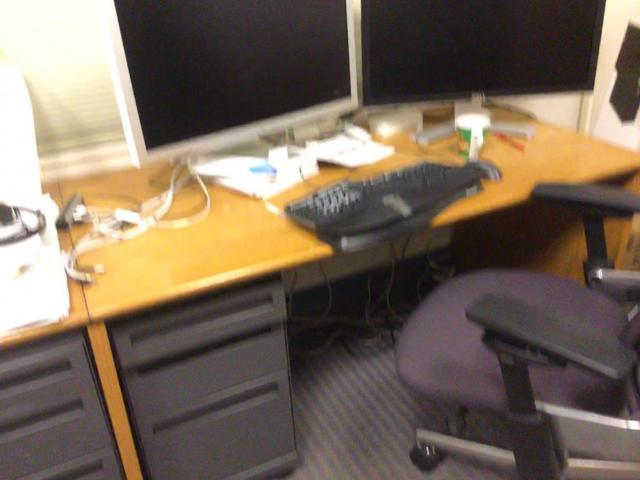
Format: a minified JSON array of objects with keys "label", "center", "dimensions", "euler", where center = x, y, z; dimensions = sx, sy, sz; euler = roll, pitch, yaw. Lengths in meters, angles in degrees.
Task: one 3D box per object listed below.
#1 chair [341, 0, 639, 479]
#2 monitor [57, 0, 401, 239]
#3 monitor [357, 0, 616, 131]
[{"label":"chair","center":[0.520,0.100,1.130],"dimensions":[0.690,1.330,0.660],"euler":[-20,32,-31]},{"label":"monitor","center":[-0.170,-0.430,1.440],"dimensions":[0.780,0.580,0.280],"euler":[-23,34,-36]},{"label":"monitor","center":[0.460,-0.620,1.680],"dimensions":[0.680,0.530,0.210],"euler":[-3,27,-3]}]
